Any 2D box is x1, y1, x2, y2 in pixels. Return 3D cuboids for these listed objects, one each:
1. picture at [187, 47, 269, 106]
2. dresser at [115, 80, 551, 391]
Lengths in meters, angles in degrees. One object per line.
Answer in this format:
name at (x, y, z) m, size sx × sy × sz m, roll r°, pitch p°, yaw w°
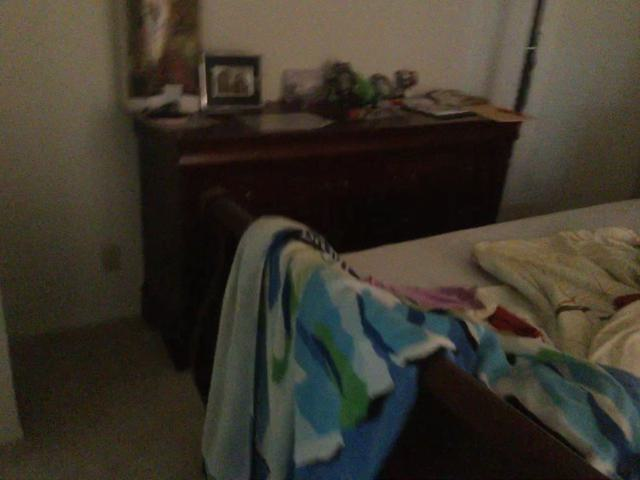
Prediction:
picture at (-0.330, -0.590, 2.080) m, size 0.260 × 0.180 × 0.120 m, roll -11°, pitch 27°, yaw -32°
dresser at (0.110, -0.140, 2.410) m, size 1.690 × 0.930 × 0.510 m, roll -11°, pitch 27°, yaw -32°
